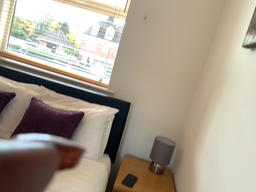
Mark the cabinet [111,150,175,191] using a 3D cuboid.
[{"bbox_3d":[0.060,0.820,1.600,0.410,0.530,0.580,16,8,3],"label":"cabinet"}]
